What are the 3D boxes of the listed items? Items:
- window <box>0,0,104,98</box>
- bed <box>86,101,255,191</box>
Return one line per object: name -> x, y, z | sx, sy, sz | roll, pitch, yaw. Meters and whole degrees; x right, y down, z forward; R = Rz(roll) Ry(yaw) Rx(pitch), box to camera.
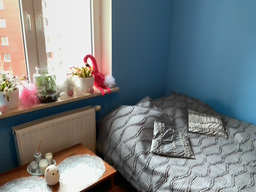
window -> -0.820, -0.770, 1.790 | 0.140, 1.470, 1.500 | 18, 24, 40
bed -> 0.810, 0.710, 2.010 | 1.400, 0.480, 2.230 | -14, 24, -41
